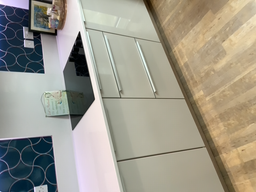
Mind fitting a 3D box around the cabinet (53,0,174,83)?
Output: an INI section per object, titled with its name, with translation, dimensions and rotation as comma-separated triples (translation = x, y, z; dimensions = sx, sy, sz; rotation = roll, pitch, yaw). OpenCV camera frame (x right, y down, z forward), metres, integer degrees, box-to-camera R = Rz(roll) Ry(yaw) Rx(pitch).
[cabinet]
translation = -0.190, -0.640, 2.150
dimensions = 0.620, 0.910, 0.740
rotation = -46, 52, 47
